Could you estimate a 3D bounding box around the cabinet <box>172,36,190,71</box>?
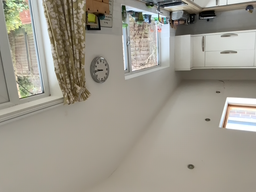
[{"bbox_3d":[1.250,-1.000,5.000,0.360,0.790,0.260,4,-165,28],"label":"cabinet"}]
